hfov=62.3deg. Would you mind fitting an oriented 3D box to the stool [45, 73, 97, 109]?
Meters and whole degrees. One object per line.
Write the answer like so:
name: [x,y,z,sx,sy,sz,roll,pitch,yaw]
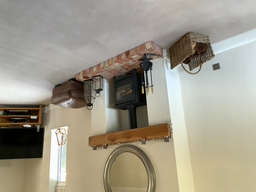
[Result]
stool: [-1.070,-0.060,4.020,0.680,0.390,0.670,-16,159,35]
